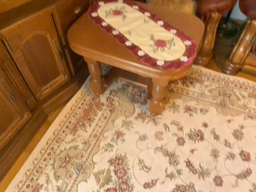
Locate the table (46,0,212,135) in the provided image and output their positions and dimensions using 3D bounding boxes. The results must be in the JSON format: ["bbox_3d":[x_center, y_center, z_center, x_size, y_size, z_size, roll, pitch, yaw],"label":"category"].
[{"bbox_3d":[0.030,-0.270,1.570,0.860,0.580,0.630,21,55,16],"label":"table"}]
